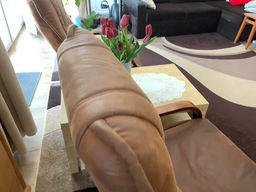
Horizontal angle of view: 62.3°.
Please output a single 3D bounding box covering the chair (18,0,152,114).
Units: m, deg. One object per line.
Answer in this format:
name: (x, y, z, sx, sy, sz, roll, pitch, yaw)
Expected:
chair: (-0.330, -0.460, 1.930, 0.870, 0.980, 0.670, -4, 37, -8)
